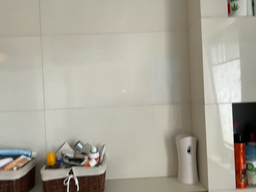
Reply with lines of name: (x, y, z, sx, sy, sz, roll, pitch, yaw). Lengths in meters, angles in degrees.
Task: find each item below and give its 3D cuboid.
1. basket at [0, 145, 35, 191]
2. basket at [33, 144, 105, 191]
basket: (-0.510, 0.290, 0.820, 0.230, 0.160, 0.140, -2, 0, -1)
basket: (-0.220, 0.300, 0.850, 0.230, 0.160, 0.190, -2, 0, -1)
